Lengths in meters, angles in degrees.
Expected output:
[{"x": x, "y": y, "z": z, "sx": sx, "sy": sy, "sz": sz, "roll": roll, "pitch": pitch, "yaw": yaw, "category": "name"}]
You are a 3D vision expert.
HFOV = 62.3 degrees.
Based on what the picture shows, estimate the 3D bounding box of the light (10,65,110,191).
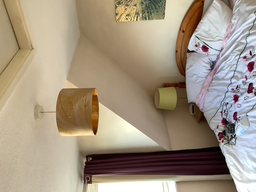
[{"x": -0.390, "y": 0.200, "z": 1.340, "sx": 0.380, "sy": 0.380, "sz": 0.590, "roll": 36, "pitch": 140, "yaw": 36, "category": "light"}]

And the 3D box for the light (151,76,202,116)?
[{"x": 0.710, "y": -0.010, "z": 3.280, "sx": 0.510, "sy": 0.630, "sz": 0.380, "roll": -93, "pitch": 4, "yaw": -50, "category": "light"}]

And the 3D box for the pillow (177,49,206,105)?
[{"x": 0.830, "y": -0.260, "z": 2.850, "sx": 0.490, "sy": 0.130, "sz": 0.570, "roll": -93, "pitch": 3, "yaw": -49, "category": "pillow"}]
